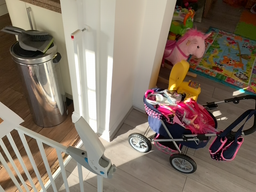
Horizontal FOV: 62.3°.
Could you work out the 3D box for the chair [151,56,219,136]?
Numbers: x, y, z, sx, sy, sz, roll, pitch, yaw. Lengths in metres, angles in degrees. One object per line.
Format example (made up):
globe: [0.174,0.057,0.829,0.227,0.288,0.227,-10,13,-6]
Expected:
chair: [0.480,-0.010,1.810,0.350,0.400,0.450,25,47,16]
